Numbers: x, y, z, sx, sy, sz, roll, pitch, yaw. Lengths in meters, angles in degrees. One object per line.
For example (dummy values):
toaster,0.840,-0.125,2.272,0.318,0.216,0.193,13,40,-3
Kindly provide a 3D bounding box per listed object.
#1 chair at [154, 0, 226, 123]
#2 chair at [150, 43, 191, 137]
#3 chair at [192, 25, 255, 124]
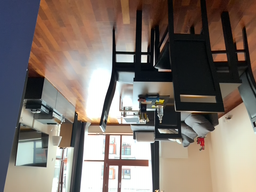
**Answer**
chair,0.470,-0.340,1.830,0.350,1.040,0.500,3,161,-7
chair,0.480,-0.060,2.600,0.350,1.050,0.490,1,161,-1
chair,1.020,-0.220,2.230,0.520,0.970,0.370,0,161,3
